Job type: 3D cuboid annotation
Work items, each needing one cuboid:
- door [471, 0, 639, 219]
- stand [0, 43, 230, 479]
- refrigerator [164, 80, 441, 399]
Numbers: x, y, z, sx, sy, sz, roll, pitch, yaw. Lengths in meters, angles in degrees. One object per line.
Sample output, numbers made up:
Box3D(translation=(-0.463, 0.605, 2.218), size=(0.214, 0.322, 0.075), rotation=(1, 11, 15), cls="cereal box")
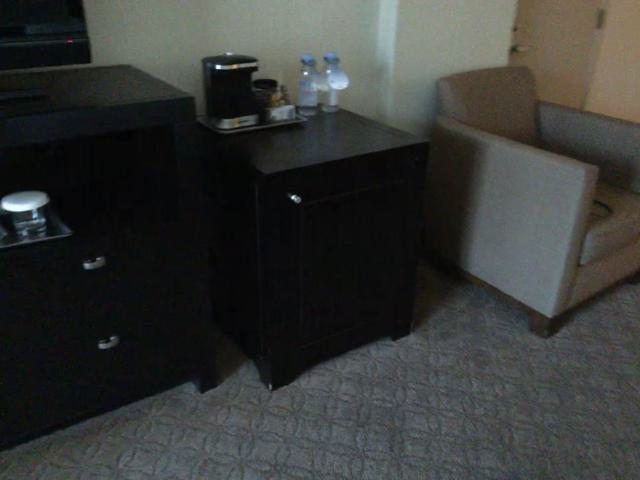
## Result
Box3D(translation=(1.580, -1.300, 3.080), size=(1.740, 2.090, 0.140), rotation=(-18, 32, -30), cls="door")
Box3D(translation=(-0.940, 0.080, 1.590), size=(1.160, 1.010, 0.570), rotation=(-18, 32, -30), cls="stand")
Box3D(translation=(-0.070, -0.060, 2.100), size=(0.670, 0.830, 0.650), rotation=(-18, 32, -30), cls="refrigerator")
